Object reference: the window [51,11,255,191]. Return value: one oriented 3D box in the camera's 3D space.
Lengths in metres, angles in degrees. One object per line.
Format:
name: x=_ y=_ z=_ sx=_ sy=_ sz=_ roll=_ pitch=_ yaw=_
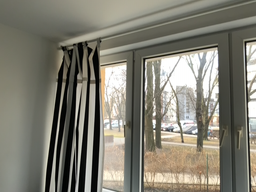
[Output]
window: x=0.360 y=0.290 z=1.710 sx=2.820 sy=1.590 sz=0.240 roll=-2 pitch=-7 yaw=37
